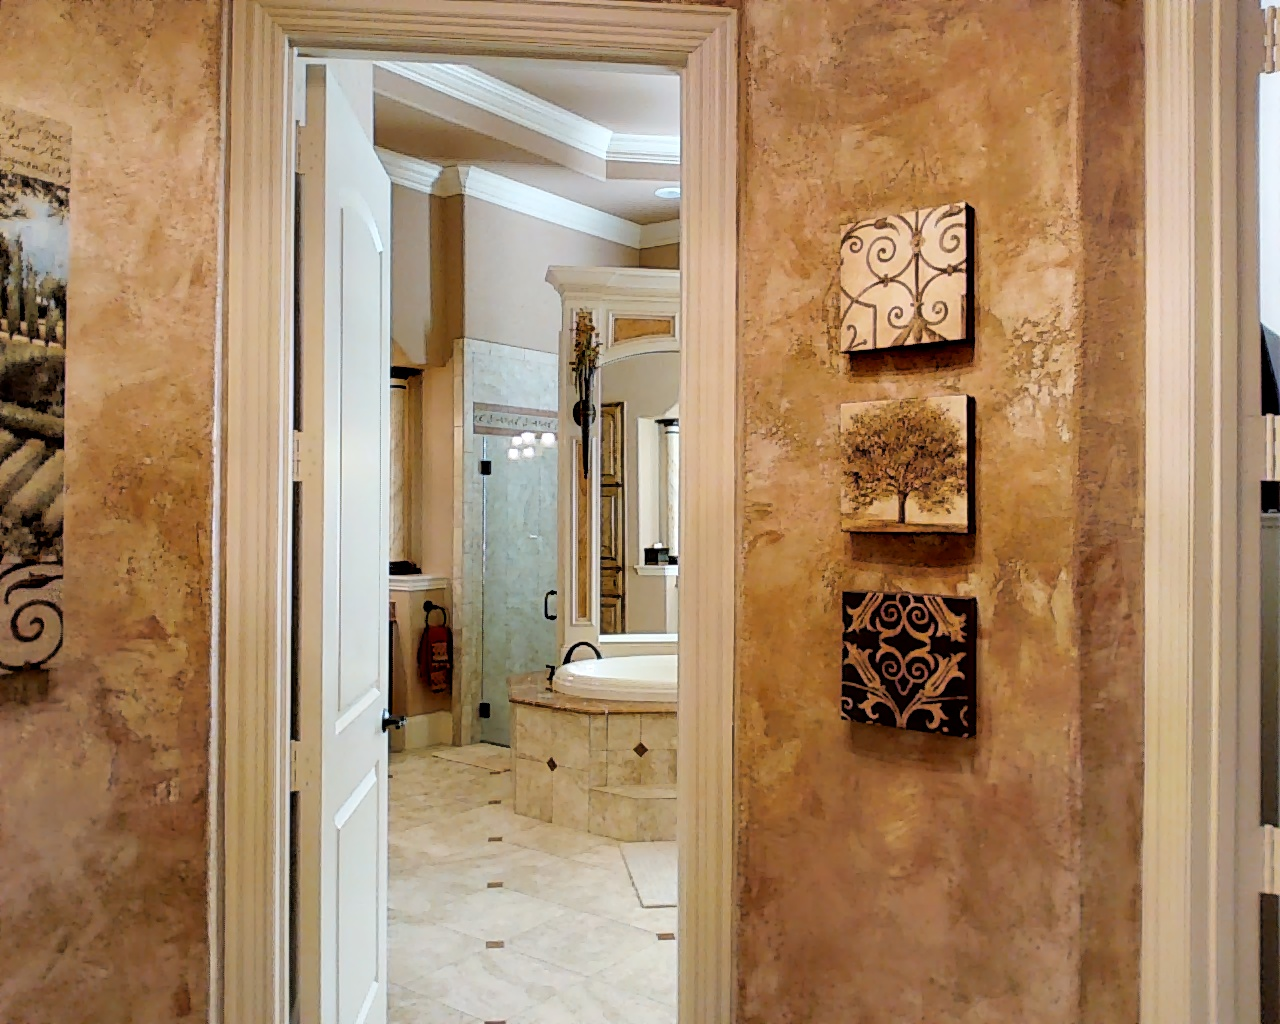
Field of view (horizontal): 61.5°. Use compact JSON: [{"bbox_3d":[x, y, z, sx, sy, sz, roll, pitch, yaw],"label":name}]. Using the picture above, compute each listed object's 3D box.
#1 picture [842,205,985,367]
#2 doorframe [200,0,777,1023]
[{"bbox_3d":[0.490,-0.400,1.940,0.250,0.250,0.050,0,-1,38],"label":"picture"},{"bbox_3d":[-0.280,0.140,2.140,1.050,2.811,0.300,0,-1,-6],"label":"doorframe"}]
